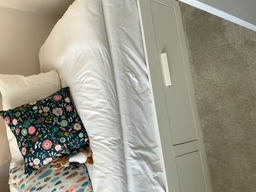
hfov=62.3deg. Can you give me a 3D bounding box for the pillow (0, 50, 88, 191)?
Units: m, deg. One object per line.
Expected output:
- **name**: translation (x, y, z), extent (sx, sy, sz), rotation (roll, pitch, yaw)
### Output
- **pillow**: translation (-0.600, 0.490, 1.210), extent (0.680, 0.460, 1.290), rotation (-22, 74, 50)
